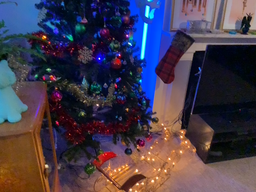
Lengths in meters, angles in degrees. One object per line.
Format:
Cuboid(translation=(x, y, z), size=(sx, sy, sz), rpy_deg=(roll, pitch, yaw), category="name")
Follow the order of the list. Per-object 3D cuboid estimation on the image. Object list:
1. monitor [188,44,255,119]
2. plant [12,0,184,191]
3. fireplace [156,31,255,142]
Cuboid(translation=(1.120, -0.130, 1.960), size=(1.080, 0.680, 0.050), rpy_deg=(-3, 27, -14), category="monitor")
Cuboid(translation=(-0.260, -0.470, 1.630), size=(0.900, 2.190, 0.960), rpy_deg=(-5, 27, -17), category="plant")
Cuboid(translation=(1.080, -0.120, 2.330), size=(1.420, 1.100, 0.290), rpy_deg=(-4, 27, -16), category="fireplace")
